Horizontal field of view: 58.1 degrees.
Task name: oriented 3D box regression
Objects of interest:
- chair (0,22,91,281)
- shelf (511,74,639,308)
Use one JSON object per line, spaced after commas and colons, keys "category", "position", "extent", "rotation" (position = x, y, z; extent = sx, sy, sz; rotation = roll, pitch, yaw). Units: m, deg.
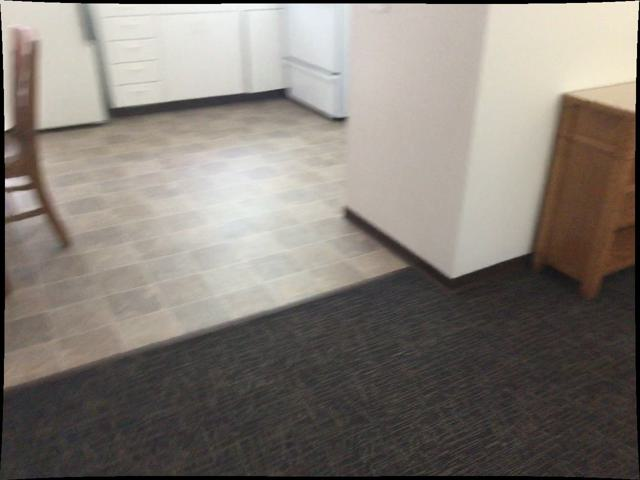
{"category": "chair", "position": [-1.378, -0.341, 2.320], "extent": [0.609, 0.901, 0.480], "rotation": [-16, 34, -27]}
{"category": "shelf", "position": [1.268, -0.240, 2.370], "extent": [0.799, 0.761, 0.350], "rotation": [-16, 34, -27]}
